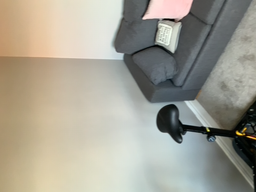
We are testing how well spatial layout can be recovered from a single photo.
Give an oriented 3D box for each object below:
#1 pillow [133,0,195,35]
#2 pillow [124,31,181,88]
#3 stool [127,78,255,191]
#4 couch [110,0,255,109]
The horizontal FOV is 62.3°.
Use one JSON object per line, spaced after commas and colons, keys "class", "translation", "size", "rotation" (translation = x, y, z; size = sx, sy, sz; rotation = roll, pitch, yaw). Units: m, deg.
{"class": "pillow", "translation": [0.350, -0.870, 1.890], "size": [0.480, 0.340, 0.260], "rotation": [-57, 40, 26]}
{"class": "pillow", "translation": [0.230, -0.380, 2.190], "size": [0.270, 0.290, 0.560], "rotation": [-60, 40, 32]}
{"class": "stool", "translation": [0.750, 0.510, 1.260], "size": [1.210, 1.030, 0.640], "rotation": [-118, 35, -43]}
{"class": "couch", "translation": [0.470, -0.830, 1.920], "size": [0.940, 0.730, 1.640], "rotation": [-118, 35, -42]}
